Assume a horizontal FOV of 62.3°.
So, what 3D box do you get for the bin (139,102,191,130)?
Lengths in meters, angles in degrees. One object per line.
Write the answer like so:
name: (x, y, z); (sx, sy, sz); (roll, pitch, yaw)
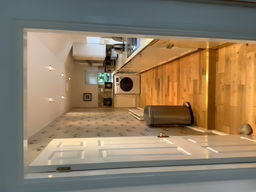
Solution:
bin: (0.560, 0.300, 3.290); (0.360, 0.700, 0.390); (180, 91, -80)
